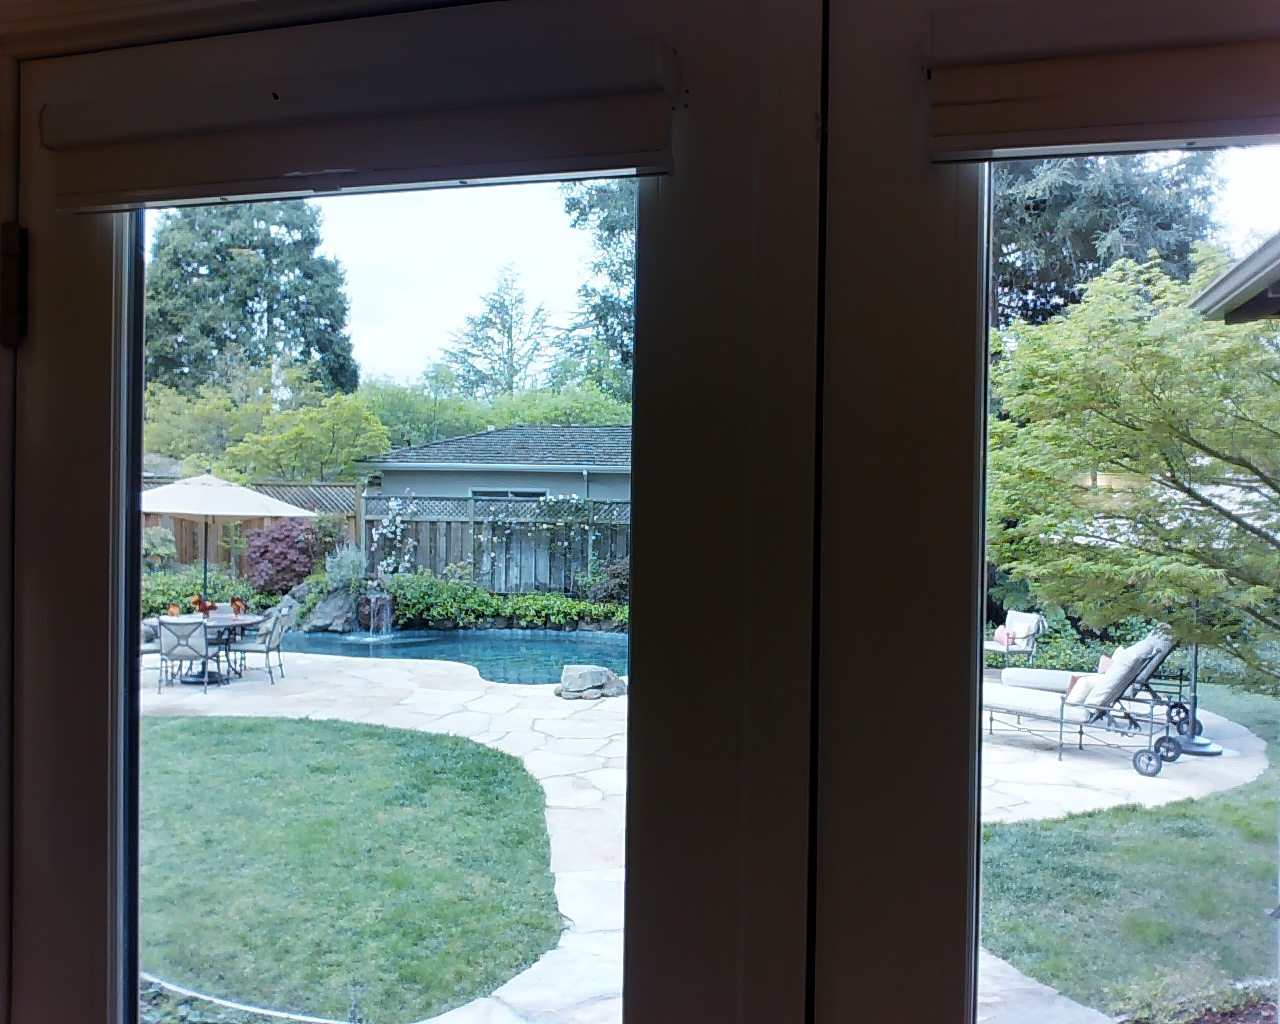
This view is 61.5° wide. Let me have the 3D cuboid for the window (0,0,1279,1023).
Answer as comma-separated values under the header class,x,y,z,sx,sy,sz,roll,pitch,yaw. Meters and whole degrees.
class,x,y,z,sx,sy,sz,roll,pitch,yaw
window,0.120,0.520,0.810,1.630,2.030,0.130,1,1,15
